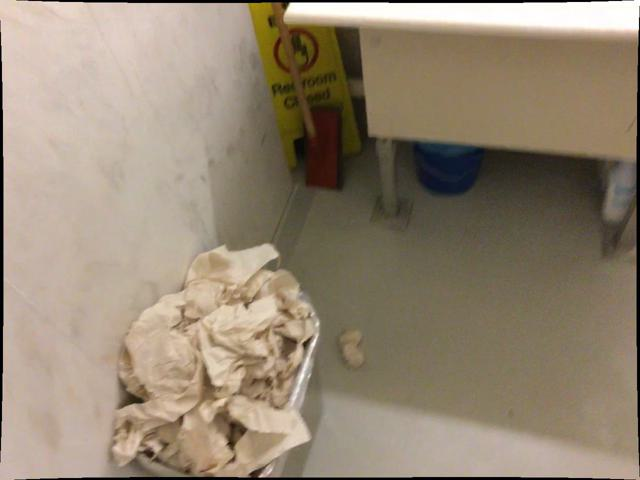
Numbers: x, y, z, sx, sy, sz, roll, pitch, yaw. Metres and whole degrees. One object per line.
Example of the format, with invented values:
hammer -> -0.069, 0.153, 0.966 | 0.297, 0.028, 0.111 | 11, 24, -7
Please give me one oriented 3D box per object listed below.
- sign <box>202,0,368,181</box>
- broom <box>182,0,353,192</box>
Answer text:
sign -> -0.060, -0.500, 1.650 | 0.300, 0.590, 0.310 | 8, 55, 15
broom -> -0.140, -0.621, 1.390 | 0.290, 1.170, 0.270 | 8, 55, 15
